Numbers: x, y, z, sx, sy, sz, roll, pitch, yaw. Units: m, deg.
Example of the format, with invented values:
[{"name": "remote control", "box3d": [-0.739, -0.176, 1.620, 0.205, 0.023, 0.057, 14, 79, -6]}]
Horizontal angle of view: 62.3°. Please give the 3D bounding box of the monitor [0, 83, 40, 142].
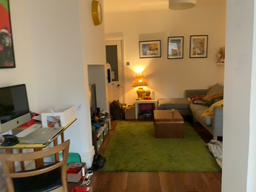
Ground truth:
[{"name": "monitor", "box3d": [-1.110, 0.130, 2.200, 0.040, 0.480, 0.650, -1, 9, 4]}]
